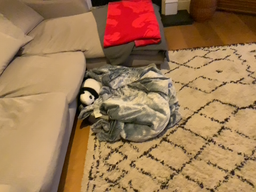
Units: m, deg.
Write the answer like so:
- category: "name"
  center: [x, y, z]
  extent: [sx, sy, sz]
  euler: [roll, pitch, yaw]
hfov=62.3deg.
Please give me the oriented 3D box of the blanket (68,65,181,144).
- category: "blanket"
  center: [0.000, 0.030, 1.580]
  extent: [0.690, 0.160, 0.650]
  euler: [0, 42, 6]
